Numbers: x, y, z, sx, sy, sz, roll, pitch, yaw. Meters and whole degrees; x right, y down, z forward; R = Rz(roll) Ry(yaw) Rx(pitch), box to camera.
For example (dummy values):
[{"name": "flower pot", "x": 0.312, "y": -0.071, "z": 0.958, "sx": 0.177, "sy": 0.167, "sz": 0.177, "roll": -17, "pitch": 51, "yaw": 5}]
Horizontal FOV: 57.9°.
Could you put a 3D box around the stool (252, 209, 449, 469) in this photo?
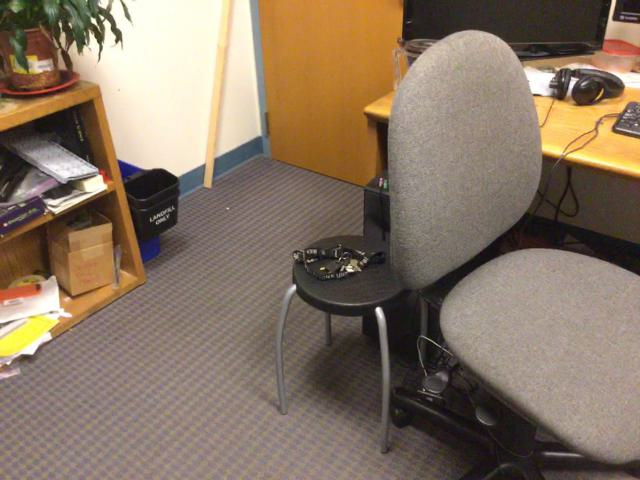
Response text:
[{"name": "stool", "x": 0.090, "y": 0.240, "z": 1.520, "sx": 0.340, "sy": 0.480, "sz": 0.350, "roll": 18, "pitch": 36, "yaw": 32}]

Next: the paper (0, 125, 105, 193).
[{"name": "paper", "x": -0.810, "y": -0.250, "z": 1.740, "sx": 0.270, "sy": 0.110, "sz": 0.160, "roll": 18, "pitch": 36, "yaw": 32}]

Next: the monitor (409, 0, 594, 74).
[{"name": "monitor", "x": 0.480, "y": -0.670, "z": 1.560, "sx": 0.460, "sy": 0.400, "sz": 0.150, "roll": 2, "pitch": 30, "yaw": 9}]
